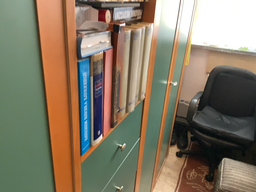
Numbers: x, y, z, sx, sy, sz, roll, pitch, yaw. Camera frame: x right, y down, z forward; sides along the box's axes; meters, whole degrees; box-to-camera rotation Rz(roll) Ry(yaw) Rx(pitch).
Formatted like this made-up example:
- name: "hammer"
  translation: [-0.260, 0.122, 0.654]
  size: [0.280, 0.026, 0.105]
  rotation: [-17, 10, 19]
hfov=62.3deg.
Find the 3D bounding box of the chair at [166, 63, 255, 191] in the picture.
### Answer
- name: "chair"
  translation: [0.890, 0.240, 2.010]
  size: [0.690, 0.840, 0.760]
  rotation: [18, 28, 27]
